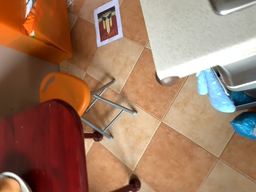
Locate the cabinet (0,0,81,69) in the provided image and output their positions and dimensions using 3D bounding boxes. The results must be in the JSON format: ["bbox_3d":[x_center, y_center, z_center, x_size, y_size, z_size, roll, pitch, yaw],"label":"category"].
[{"bbox_3d":[-0.650,-0.560,1.290,0.150,0.820,0.570,-18,73,25],"label":"cabinet"}]
